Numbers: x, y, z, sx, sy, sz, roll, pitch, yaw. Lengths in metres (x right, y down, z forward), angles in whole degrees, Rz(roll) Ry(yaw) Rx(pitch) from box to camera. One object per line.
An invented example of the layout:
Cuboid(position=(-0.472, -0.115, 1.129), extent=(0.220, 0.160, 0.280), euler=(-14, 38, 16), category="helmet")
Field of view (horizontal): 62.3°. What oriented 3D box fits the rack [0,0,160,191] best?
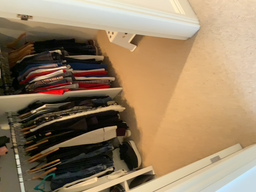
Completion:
Cuboid(position=(-1.030, -0.240, 1.650), extent=(0.520, 2.020, 2.220), euler=(-41, 62, 47), category="rack")
